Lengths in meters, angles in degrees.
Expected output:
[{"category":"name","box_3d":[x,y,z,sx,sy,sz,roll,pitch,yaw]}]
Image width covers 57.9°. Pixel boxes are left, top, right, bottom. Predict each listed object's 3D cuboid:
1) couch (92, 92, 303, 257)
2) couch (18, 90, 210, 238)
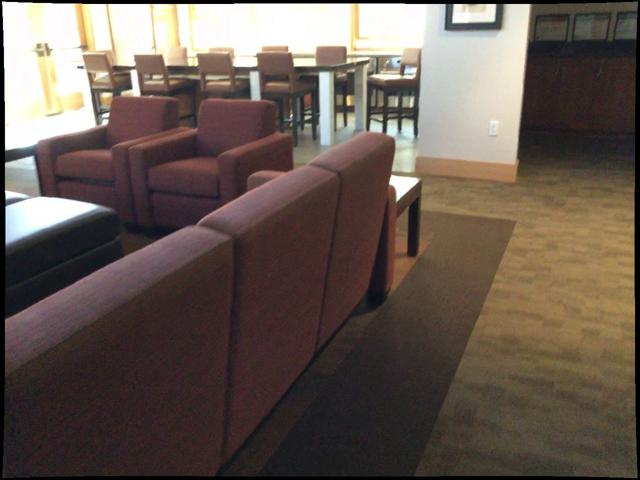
[{"category":"couch","box_3d":[-0.739,-0.480,3.750,0.949,0.801,0.820,8,24,24]},{"category":"couch","box_3d":[-1.399,-0.581,4.080,0.819,0.801,0.830,8,24,24]}]
